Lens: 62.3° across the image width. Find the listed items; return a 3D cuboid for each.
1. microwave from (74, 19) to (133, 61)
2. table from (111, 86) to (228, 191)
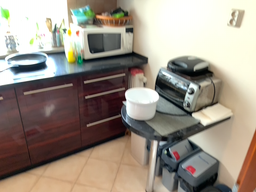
[{"bbox_3d":[-0.250,-0.580,2.120,0.450,0.310,0.360,-15,32,-32],"label":"microwave"},{"bbox_3d":[0.260,0.420,1.610,0.610,0.770,0.490,-14,32,-30],"label":"table"}]
